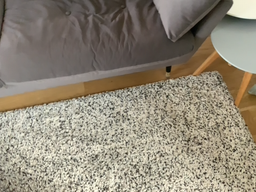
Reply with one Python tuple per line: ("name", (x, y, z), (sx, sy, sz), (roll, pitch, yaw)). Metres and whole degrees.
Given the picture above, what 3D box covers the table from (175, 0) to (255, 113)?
("table", (0.640, -0.260, 1.240), (0.510, 0.400, 0.520), (-10, 63, -7))
